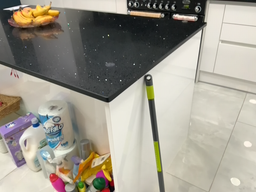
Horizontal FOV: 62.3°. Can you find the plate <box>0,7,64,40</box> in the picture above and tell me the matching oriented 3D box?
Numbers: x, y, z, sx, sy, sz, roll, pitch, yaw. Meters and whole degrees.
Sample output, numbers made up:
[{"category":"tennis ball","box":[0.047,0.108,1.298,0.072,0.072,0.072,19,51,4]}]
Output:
[{"category":"plate","box":[-0.630,-0.480,1.380,0.280,0.120,0.270,19,38,30]}]
